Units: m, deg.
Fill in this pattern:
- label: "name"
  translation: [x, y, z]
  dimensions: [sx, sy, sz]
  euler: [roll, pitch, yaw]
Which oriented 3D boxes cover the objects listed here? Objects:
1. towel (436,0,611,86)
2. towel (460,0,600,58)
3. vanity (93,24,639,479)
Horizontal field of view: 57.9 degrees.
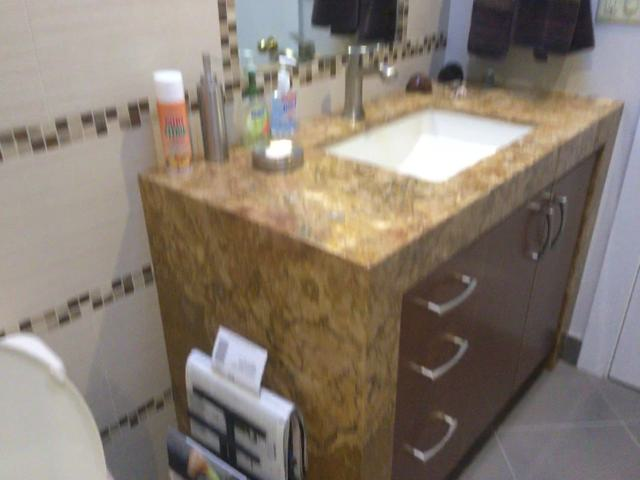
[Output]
- label: "towel"
  translation: [0.540, -0.660, 1.530]
  dimensions: [0.400, 0.420, 0.150]
  euler: [20, 34, 35]
- label: "towel"
  translation: [0.550, -0.670, 1.490]
  dimensions: [0.310, 0.340, 0.130]
  euler: [20, 34, 35]
- label: "vanity"
  translation: [0.240, 0.090, 1.480]
  dimensions: [0.660, 1.060, 1.200]
  euler: [20, 34, 35]
